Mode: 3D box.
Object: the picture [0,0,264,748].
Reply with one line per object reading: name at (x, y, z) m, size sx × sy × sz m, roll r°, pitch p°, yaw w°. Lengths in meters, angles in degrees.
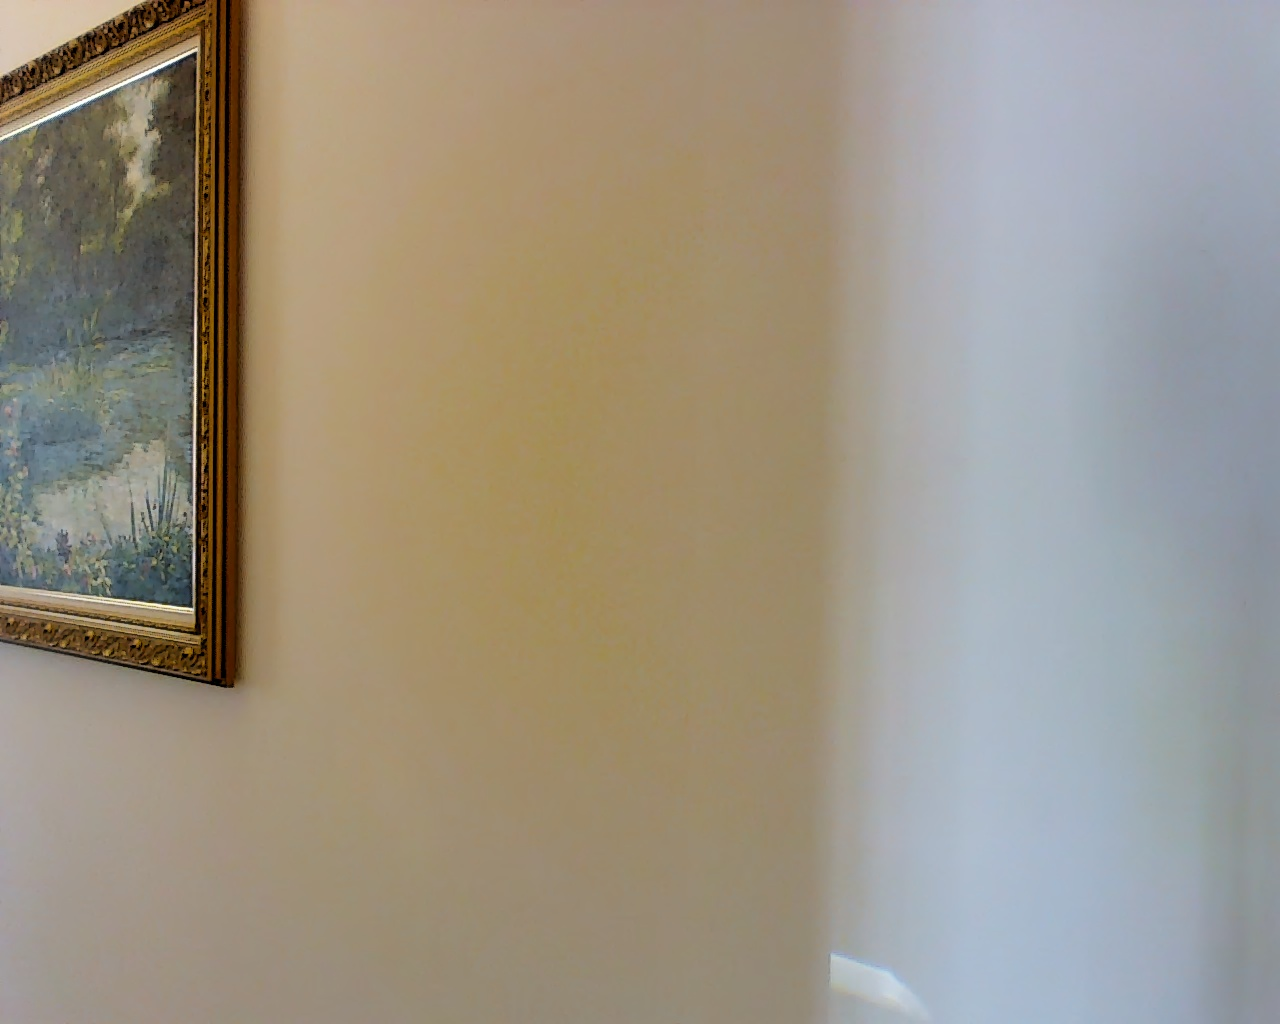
picture at (-1.160, -0.250, 2.060) m, size 1.420 × 1.180 × 0.070 m, roll 1°, pitch 1°, yaw 38°
